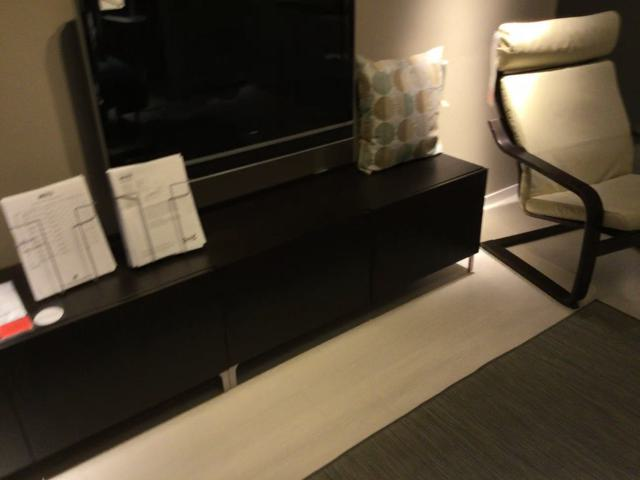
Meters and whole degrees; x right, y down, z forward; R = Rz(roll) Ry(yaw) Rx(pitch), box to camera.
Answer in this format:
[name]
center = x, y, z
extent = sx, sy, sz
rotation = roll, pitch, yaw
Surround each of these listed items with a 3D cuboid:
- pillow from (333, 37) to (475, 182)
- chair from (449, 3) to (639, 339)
[pillow]
center = 0.350, -0.540, 2.320
extent = 0.530, 0.450, 0.230
rotation = -22, 29, -31
[chair]
center = 1.090, -0.360, 2.240
extent = 0.770, 0.950, 0.960
rotation = -13, 26, -15
